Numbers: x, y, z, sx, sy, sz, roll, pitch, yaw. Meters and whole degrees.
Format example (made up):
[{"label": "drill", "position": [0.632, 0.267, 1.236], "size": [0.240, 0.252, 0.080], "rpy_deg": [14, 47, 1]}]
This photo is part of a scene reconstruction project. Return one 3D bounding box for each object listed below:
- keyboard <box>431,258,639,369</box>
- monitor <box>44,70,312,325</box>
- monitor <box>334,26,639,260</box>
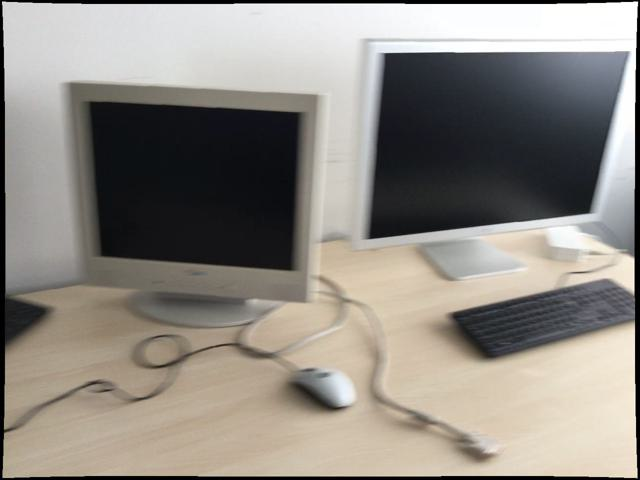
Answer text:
[{"label": "keyboard", "position": [0.490, 0.140, 1.230], "size": [0.470, 0.030, 0.200], "rpy_deg": [-11, 29, -24]}, {"label": "monitor", "position": [-0.250, -0.080, 1.150], "size": [0.450, 0.460, 0.150], "rpy_deg": [3, 26, 4]}, {"label": "monitor", "position": [0.390, -0.240, 1.350], "size": [0.689, 0.460, 0.160], "rpy_deg": [-8, 28, -17]}]
